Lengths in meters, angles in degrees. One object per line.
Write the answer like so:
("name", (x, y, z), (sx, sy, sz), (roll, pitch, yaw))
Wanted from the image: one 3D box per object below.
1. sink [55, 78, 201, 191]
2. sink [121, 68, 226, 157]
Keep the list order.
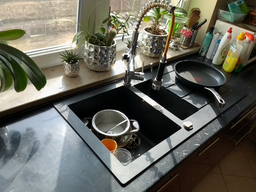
("sink", (-0.020, 0.180, 1.030), (0.430, 0.210, 0.530), (-23, 47, -37))
("sink", (0.230, 0.060, 1.220), (0.230, 0.180, 0.530), (-23, 47, -37))
